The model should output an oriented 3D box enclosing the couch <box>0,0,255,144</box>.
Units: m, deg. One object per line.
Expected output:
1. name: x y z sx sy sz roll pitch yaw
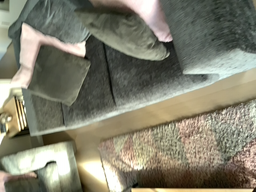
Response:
1. couch: -0.200 -0.350 1.480 1.760 0.740 0.990 -22 79 42
